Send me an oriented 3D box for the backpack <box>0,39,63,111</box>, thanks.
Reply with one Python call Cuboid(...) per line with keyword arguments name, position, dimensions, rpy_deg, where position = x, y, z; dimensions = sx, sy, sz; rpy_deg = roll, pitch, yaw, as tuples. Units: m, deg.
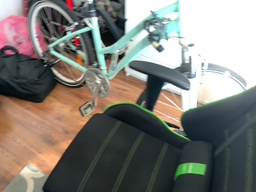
Cuboid(name="backpack", position=(-0.830, -0.170, 1.560), dimensions=(0.550, 0.230, 0.320), rpy_deg=(20, 51, 14))
